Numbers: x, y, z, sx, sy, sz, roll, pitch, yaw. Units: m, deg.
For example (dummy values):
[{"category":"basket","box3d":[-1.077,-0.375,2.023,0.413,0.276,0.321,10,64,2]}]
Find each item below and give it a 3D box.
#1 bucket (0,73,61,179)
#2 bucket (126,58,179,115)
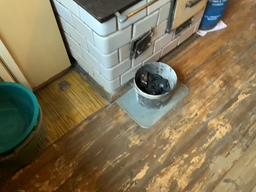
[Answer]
[{"category":"bucket","box3d":[-0.760,0.200,1.290,0.490,0.360,0.350,-35,64,-20]},{"category":"bucket","box3d":[0.170,-0.070,1.540,0.240,0.190,0.280,40,66,22]}]
